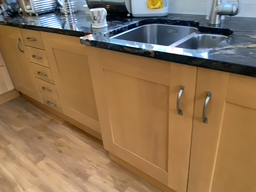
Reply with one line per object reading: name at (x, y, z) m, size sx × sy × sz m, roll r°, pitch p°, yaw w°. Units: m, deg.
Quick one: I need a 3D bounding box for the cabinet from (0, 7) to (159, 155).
cabinet at (-0.520, -0.280, 1.960) m, size 1.470 × 0.860 × 0.650 m, roll 19°, pitch 38°, yaw 35°
